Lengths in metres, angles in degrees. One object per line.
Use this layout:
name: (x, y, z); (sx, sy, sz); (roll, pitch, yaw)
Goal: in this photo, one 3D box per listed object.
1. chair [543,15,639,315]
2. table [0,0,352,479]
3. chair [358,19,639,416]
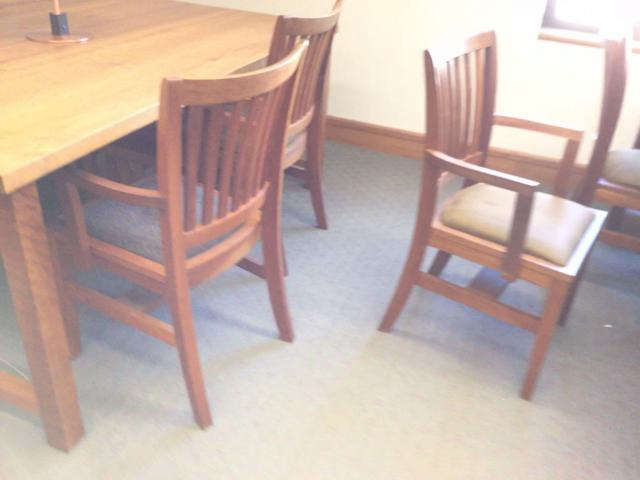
chair: (1.190, -0.280, 2.090); (0.530, 0.950, 0.550); (11, 26, 19)
table: (-0.920, -0.350, 2.090); (1.490, 1.020, 1.840); (11, 26, 19)
chair: (0.560, -0.140, 1.780); (0.630, 0.950, 0.700); (11, 26, 19)
